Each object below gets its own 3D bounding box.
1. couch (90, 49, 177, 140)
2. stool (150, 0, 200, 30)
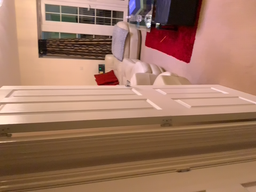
[{"bbox_3d":[-0.130,-0.240,4.100,2.450,0.910,1.010,-132,44,-66],"label":"couch"},{"bbox_3d":[0.570,-1.080,2.650,0.450,0.400,0.430,-126,38,-63],"label":"stool"}]
